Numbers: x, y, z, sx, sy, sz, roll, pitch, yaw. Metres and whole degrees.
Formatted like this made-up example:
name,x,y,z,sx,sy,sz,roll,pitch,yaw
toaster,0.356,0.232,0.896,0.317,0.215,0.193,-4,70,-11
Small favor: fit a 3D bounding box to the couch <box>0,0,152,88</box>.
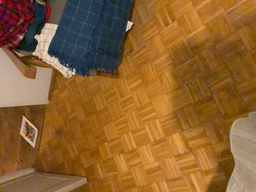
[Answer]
name,x,y,z,sx,sy,sz,roll,pitch,yaw
couch,-0.440,-0.480,1.160,0.760,0.770,0.620,27,108,32
